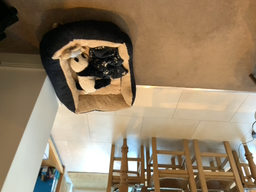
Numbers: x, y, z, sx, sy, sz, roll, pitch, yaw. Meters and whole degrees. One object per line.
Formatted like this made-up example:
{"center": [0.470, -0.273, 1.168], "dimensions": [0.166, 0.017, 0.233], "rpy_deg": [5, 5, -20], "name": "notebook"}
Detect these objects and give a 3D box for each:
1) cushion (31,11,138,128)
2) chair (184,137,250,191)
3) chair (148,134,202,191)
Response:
{"center": [-0.260, -0.120, 1.690], "dimensions": [0.620, 0.200, 1.040], "rpy_deg": [2, 140, 0], "name": "cushion"}
{"center": [0.990, 1.030, 2.380], "dimensions": [0.460, 1.010, 0.470], "rpy_deg": [3, 140, -1], "name": "chair"}
{"center": [0.500, 1.000, 2.370], "dimensions": [0.460, 1.010, 0.470], "rpy_deg": [3, 140, -1], "name": "chair"}
